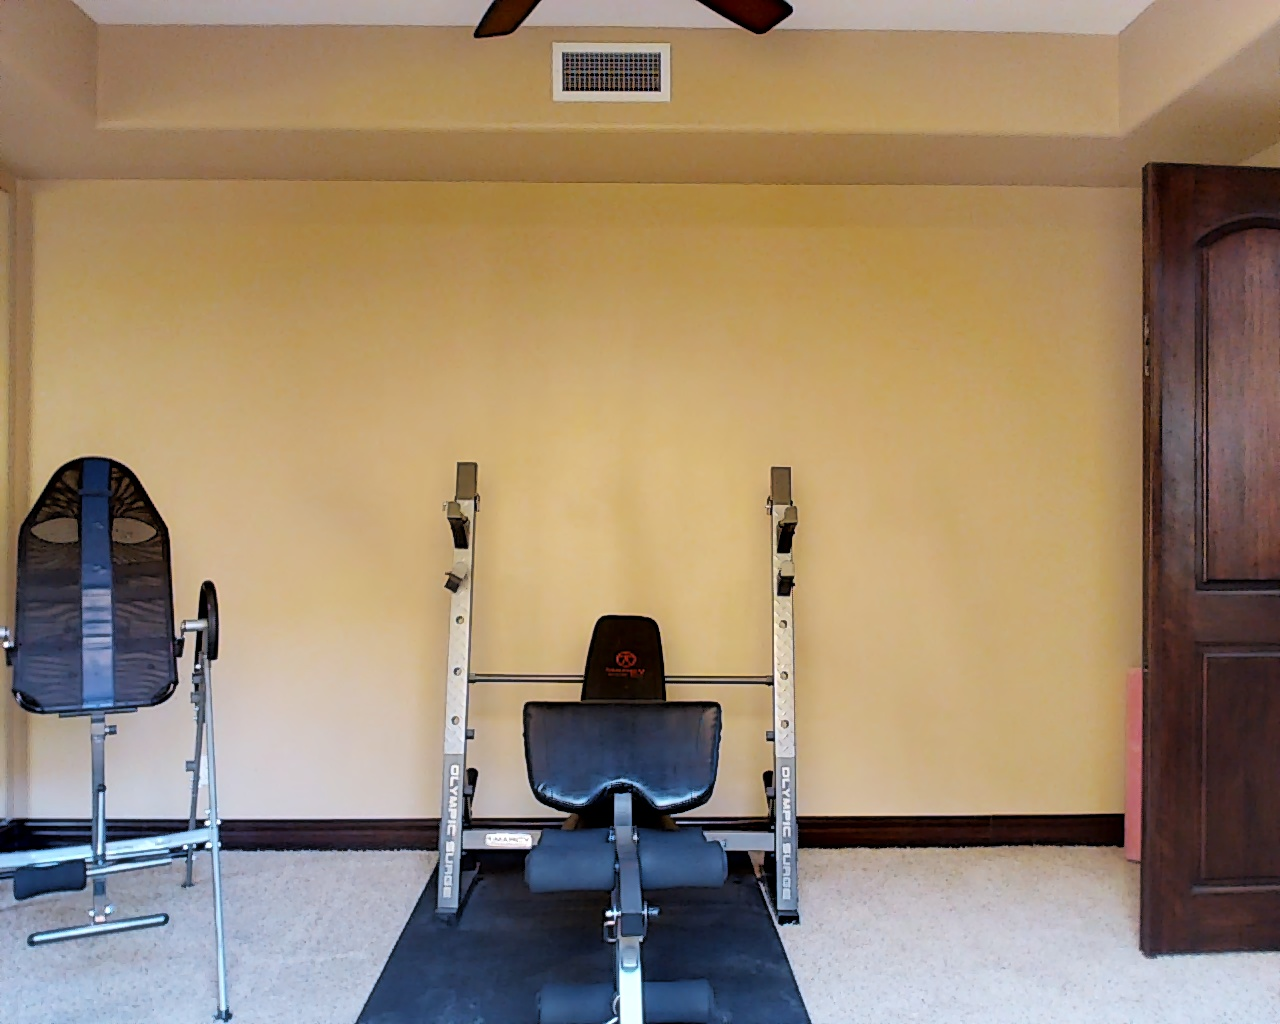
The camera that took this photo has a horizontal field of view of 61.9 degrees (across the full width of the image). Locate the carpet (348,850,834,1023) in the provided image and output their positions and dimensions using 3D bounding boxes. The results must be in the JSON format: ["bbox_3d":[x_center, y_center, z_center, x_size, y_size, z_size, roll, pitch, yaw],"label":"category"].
[{"bbox_3d":[-0.120,1.340,3.330,1.270,0.001,1.770,1,0,1],"label":"carpet"}]
